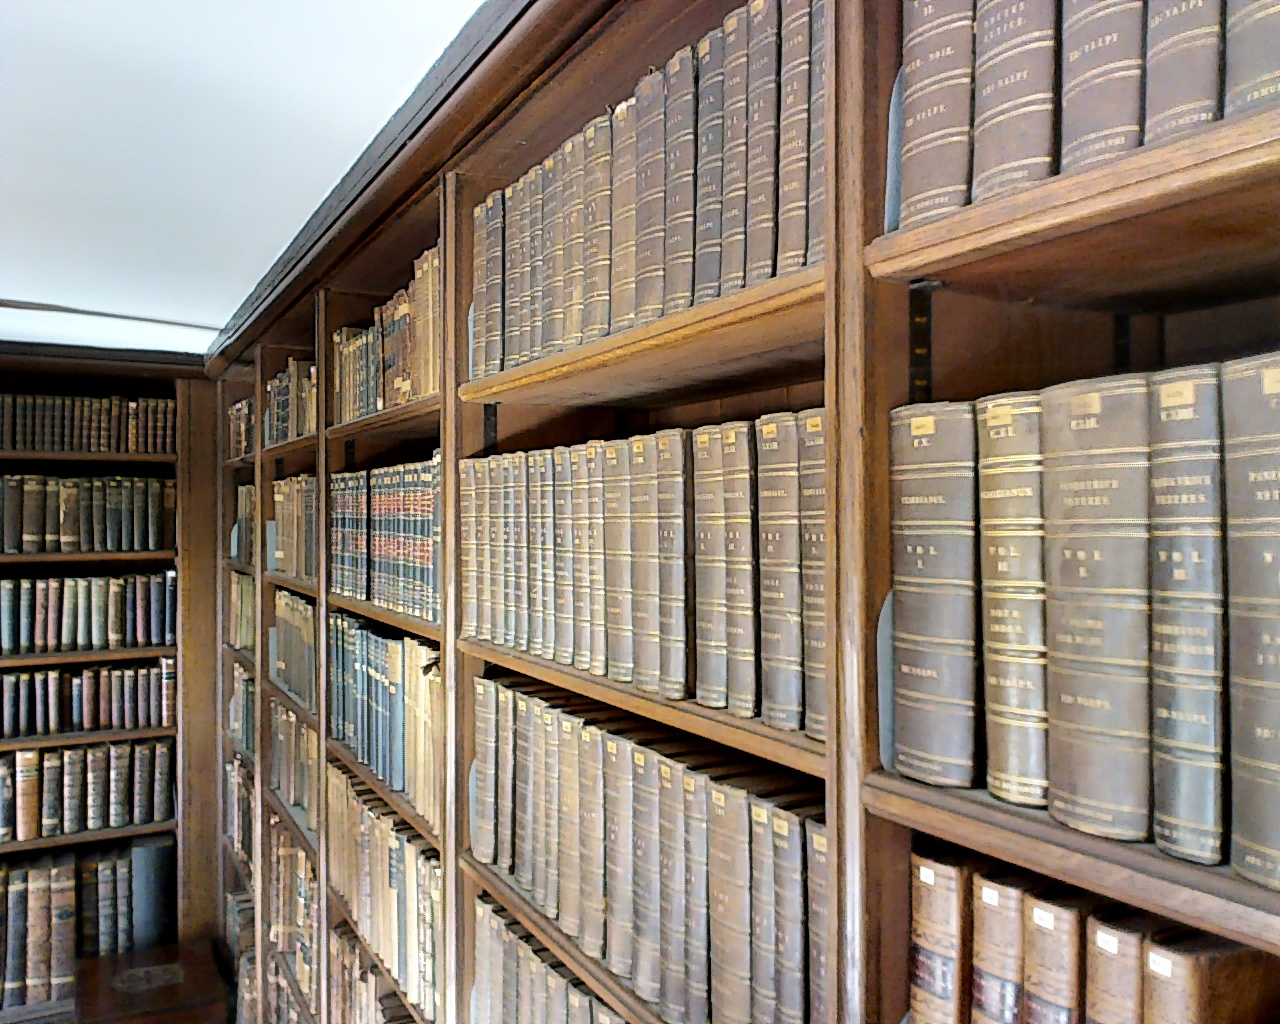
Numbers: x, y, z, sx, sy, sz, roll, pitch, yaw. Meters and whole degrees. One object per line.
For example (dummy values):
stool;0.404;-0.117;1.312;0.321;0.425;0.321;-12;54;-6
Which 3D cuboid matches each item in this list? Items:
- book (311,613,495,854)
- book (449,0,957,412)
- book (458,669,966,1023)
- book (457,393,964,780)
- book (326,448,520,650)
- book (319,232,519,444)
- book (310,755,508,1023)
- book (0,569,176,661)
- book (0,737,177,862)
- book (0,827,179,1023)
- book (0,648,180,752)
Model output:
book;-0.410;0.320;1.740;0.110;0.250;0.730;1;0;-27
book;-0.010;-0.260;1.060;0.120;0.250;0.760;1;-1;-28
book;0.000;0.310;1.040;0.130;0.220;0.730;0;-1;-28
book;0.000;0.050;1.050;0.140;0.250;0.730;1;0;-27
book;-0.380;0.050;1.740;0.110;0.260;0.750;1;0;-27
book;-0.390;-0.250;1.760;0.120;0.230;0.740;1;0;-28
book;-0.400;0.590;1.730;0.120;0.240;0.730;1;-1;-28
book;-1.859;0.320;3.370;0.720;0.260;0.200;1;-1;-29
book;-1.859;0.900;3.350;0.740;0.290;0.220;1;-1;-29
book;-1.859;1.310;3.340;0.750;0.490;0.250;1;-1;-30
book;-1.859;0.590;3.380;0.740;0.270;0.180;1;-1;-28
